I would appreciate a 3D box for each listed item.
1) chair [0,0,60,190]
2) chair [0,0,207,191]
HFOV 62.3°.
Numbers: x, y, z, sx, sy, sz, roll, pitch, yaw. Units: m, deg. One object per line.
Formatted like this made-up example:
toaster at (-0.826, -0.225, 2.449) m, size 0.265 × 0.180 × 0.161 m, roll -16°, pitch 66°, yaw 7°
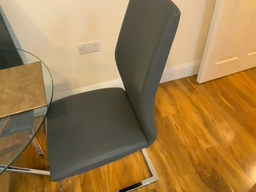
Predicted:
chair at (-0.740, -0.020, 1.140) m, size 0.440 × 1.030 × 0.560 m, roll -14°, pitch 46°, yaw -13°
chair at (-0.120, 0.080, 1.030) m, size 0.560 × 1.030 × 0.470 m, roll -14°, pitch 46°, yaw -13°
